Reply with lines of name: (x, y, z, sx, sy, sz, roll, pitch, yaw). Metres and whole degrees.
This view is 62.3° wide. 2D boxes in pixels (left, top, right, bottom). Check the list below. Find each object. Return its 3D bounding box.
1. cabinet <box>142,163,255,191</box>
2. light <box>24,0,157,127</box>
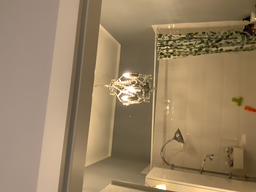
cabinet: (0.650, 0.800, 1.910, 0.410, 0.960, 0.160, 20, -106, -71)
light: (-0.360, -0.200, 1.710, 0.690, 0.920, 0.720, 3, -89, -35)
